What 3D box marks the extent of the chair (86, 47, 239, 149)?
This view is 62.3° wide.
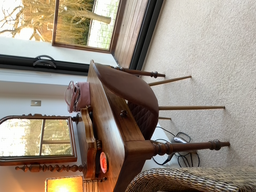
[{"bbox_3d":[0.190,0.020,1.430,0.410,0.820,0.460,-117,37,-49],"label":"chair"}]
